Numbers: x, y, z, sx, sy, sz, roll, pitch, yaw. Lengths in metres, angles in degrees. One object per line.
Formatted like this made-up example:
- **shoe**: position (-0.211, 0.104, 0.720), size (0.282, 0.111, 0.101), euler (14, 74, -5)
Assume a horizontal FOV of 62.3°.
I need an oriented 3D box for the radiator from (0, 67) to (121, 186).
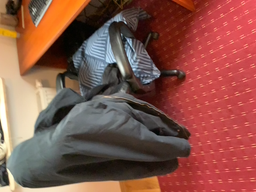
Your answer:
- **radiator**: position (-0.550, 0.180, 1.720), size (0.120, 0.980, 0.780), euler (-30, 69, 41)
